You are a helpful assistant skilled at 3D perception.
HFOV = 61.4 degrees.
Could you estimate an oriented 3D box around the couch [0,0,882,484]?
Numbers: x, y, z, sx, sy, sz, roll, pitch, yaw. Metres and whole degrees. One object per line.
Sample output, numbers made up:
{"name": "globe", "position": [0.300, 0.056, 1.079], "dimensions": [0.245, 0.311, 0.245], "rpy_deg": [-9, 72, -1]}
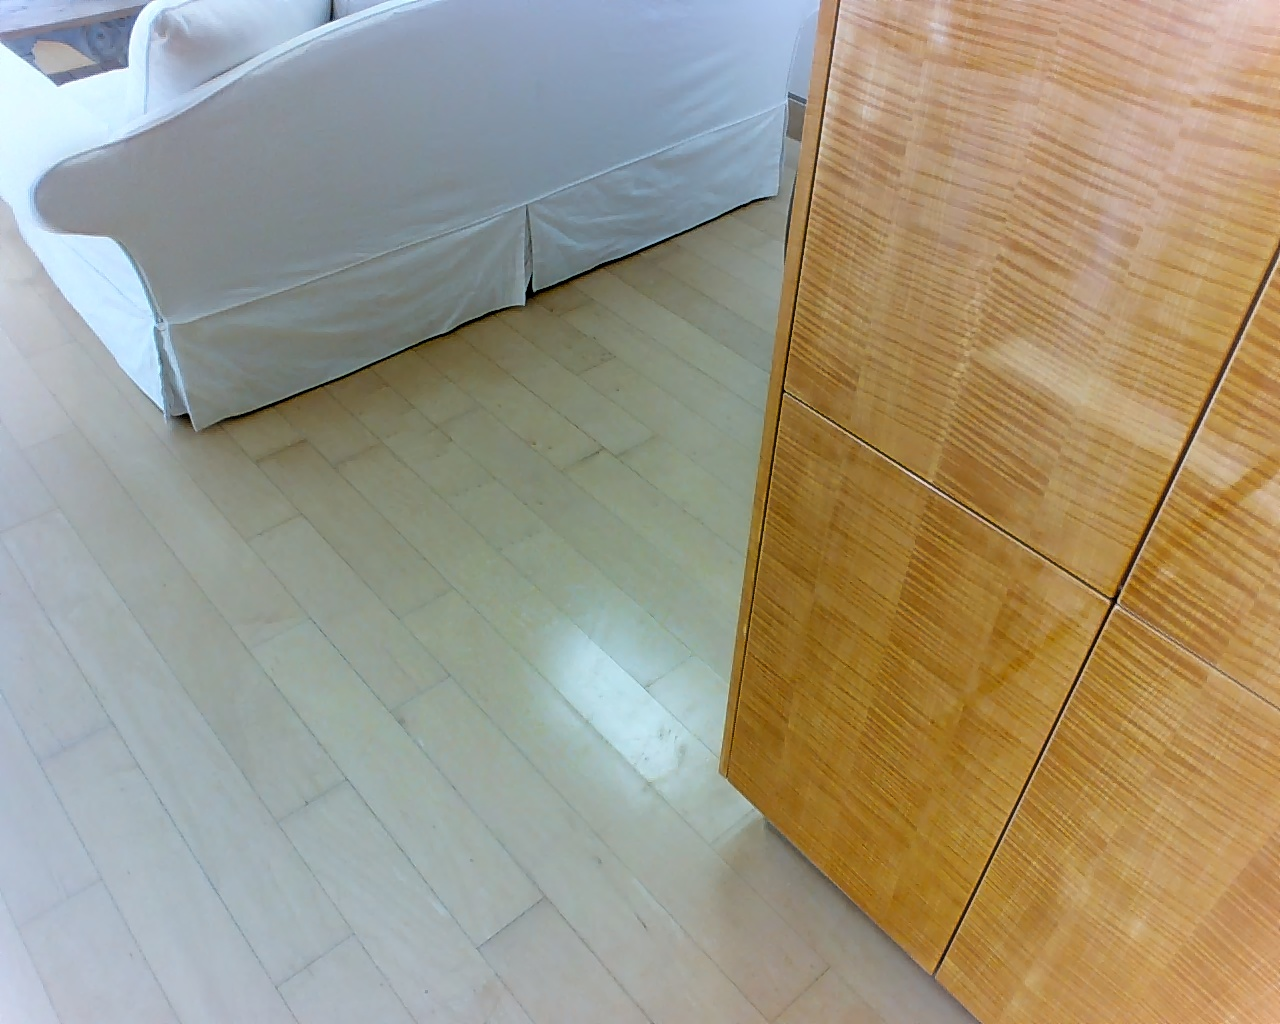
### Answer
{"name": "couch", "position": [-0.600, -1.250, 2.890], "dimensions": [2.470, 0.970, 1.150], "rpy_deg": [-30, 52, -29]}
